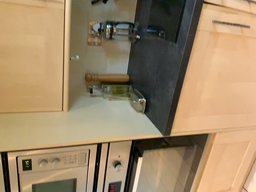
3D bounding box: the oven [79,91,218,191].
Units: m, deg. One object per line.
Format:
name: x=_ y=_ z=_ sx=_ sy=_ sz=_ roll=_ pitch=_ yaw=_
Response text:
oven: x=0.060 y=0.370 z=1.450 sx=0.600 sy=0.660 sz=0.610 roll=-130 pitch=44 yaw=-58
